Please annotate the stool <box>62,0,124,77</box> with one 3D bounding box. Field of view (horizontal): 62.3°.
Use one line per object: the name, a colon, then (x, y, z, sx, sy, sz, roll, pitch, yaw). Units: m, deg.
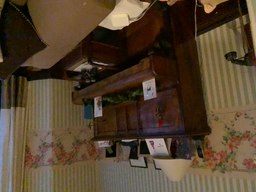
stool: (-0.350, -0.510, 2.010, 0.380, 0.520, 0.470, 4, 168, -39)
